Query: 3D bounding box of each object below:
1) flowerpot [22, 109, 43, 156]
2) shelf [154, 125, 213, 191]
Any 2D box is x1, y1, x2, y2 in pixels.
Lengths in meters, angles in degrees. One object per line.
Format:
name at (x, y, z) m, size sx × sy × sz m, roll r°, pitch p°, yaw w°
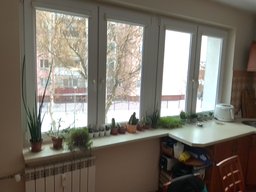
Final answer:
flowerpot at (-0.890, 0.330, 1.970) m, size 0.160 × 0.380 × 0.190 m, roll -2°, pitch 9°, yaw -28°
shelf at (0.660, 0.880, 2.620) m, size 0.370 × 0.890 × 0.540 m, roll -3°, pitch 9°, yaw -31°
